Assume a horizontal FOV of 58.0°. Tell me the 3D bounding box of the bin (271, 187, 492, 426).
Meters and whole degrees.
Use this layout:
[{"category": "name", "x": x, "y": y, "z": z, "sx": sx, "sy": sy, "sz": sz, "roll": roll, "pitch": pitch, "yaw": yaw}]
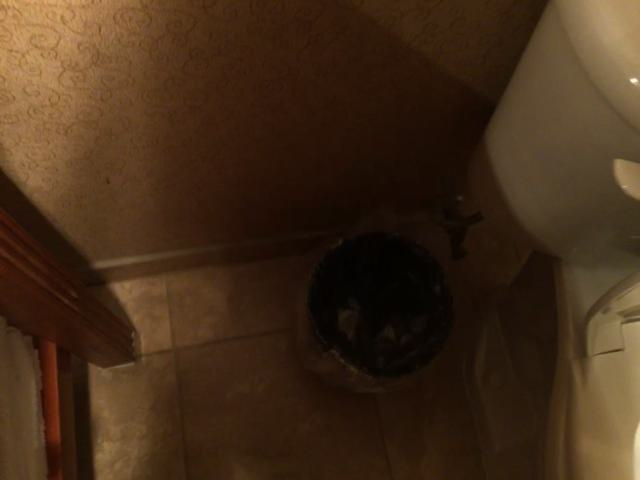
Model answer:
[{"category": "bin", "x": 0.070, "y": 0.120, "z": 0.900, "sx": 0.240, "sy": 0.280, "sz": 0.280, "roll": -9, "pitch": 72, "yaw": -5}]
